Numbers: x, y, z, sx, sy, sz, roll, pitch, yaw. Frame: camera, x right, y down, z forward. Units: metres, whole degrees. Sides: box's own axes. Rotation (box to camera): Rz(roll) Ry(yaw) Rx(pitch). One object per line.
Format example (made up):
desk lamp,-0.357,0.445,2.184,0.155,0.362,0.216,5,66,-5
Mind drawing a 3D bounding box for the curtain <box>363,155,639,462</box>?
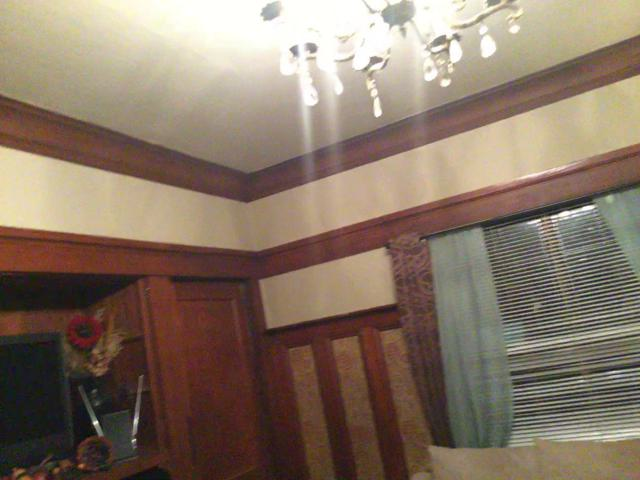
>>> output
curtain,1.220,0.340,2.860,1.860,1.230,0.270,-17,-15,26
